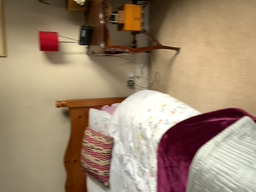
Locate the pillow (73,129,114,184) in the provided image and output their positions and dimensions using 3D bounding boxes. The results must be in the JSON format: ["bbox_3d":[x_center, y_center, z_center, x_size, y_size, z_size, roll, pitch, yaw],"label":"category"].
[{"bbox_3d":[-0.300,0.500,1.810,0.100,0.360,0.390,-11,-80,-54],"label":"pillow"}]

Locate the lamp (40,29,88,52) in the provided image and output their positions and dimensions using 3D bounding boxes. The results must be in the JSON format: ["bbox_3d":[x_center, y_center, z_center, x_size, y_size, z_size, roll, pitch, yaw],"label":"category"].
[{"bbox_3d":[-0.560,-0.480,1.860,0.390,0.170,0.170,-2,-78,-22],"label":"lamp"}]
